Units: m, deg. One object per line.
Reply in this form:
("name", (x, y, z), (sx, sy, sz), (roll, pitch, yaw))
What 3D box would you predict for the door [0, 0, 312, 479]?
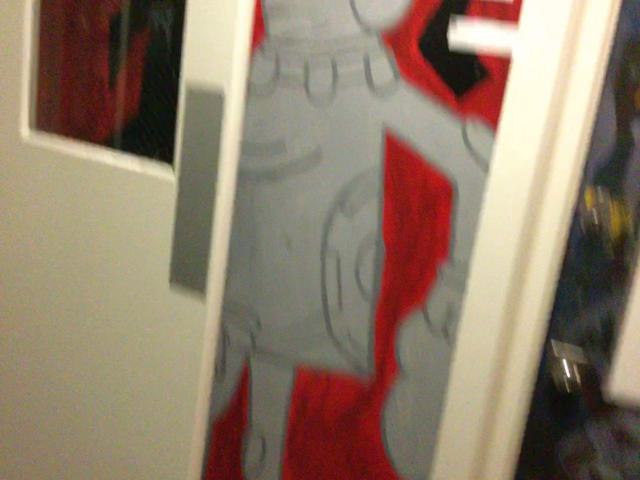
("door", (-0.510, -0.040, 1.320), (0.840, 2.150, 0.210), (11, 9, 20))
